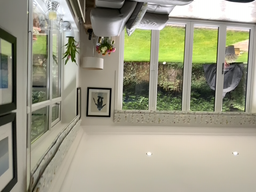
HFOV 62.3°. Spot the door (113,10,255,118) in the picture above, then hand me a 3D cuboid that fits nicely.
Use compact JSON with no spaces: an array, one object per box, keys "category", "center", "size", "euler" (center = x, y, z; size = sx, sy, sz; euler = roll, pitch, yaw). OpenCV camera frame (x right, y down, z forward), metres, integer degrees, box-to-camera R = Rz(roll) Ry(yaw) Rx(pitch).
[{"category":"door","center":[1.220,-0.620,4.500],"size":[2.970,2.100,0.090],"euler":[2,-177,-5]}]

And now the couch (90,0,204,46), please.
[{"category":"couch","center":[0.140,-1.160,2.610],"size":[1.110,0.810,1.180],"euler":[2,-177,-8]}]

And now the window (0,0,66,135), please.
[{"category":"window","center":[-0.930,-0.360,2.160],"size":[0.100,1.140,2.090],"euler":[2,-177,-4]}]
